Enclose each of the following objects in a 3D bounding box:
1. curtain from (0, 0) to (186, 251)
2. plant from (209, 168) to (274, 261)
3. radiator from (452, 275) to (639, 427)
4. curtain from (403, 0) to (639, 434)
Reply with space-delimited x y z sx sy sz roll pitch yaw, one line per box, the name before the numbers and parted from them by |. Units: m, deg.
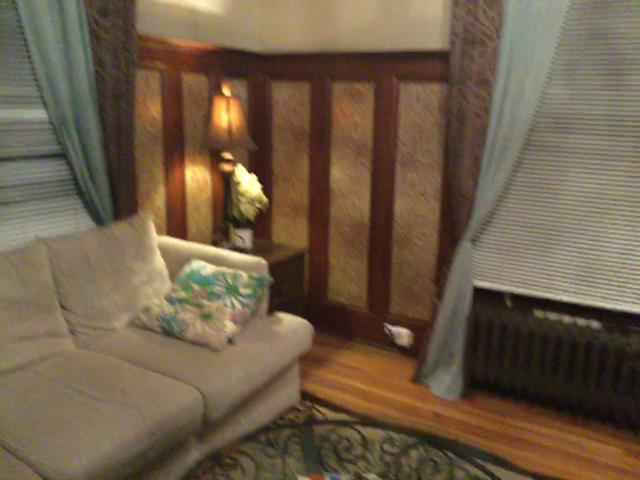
curtain | -1.220 -0.580 1.980 0.270 1.230 1.860 5 10 28
plant | -0.430 -0.150 3.190 0.290 0.480 0.190 5 10 28
radiator | 1.320 0.520 2.660 1.350 0.530 0.270 5 10 28
curtain | 1.300 -0.240 2.540 1.810 2.110 0.310 5 10 28
